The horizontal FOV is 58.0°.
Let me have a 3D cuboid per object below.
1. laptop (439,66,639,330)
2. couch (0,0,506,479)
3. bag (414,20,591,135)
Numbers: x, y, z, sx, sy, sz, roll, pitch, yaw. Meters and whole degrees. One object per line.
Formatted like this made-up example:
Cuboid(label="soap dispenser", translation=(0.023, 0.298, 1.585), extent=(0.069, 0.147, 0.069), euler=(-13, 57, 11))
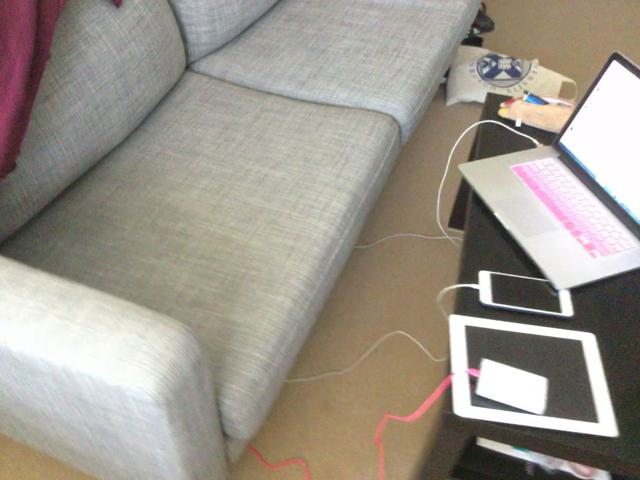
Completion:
Cuboid(label="laptop", translation=(0.500, -0.100, 1.080), extent=(0.390, 0.220, 0.390), euler=(-14, 46, -11))
Cuboid(label="couch", translation=(-0.150, -0.450, 1.600), extent=(0.970, 0.810, 2.210), euler=(16, 48, 17))
Cuboid(label="bag", translation=(0.690, -0.630, 2.180), extent=(0.550, 0.140, 0.430), euler=(16, 48, 17))
